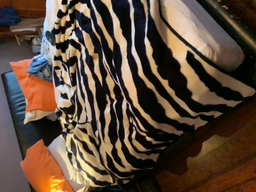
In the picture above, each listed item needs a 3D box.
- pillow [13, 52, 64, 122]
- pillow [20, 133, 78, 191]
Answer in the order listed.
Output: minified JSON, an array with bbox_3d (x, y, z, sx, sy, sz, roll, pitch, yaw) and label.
[{"bbox_3d":[-1.010,-0.120,2.350,0.730,0.320,0.260,61,141,22],"label":"pillow"},{"bbox_3d":[-0.800,0.770,2.100,0.620,0.330,0.390,61,141,22],"label":"pillow"}]
